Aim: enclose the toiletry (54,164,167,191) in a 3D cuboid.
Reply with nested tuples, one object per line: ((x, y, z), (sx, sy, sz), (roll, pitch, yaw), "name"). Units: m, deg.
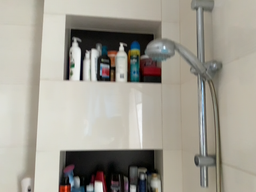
((-0.080, 0.490, 1.040), (0.510, 0.260, 0.190), (1, -6, -2), "toiletry")
